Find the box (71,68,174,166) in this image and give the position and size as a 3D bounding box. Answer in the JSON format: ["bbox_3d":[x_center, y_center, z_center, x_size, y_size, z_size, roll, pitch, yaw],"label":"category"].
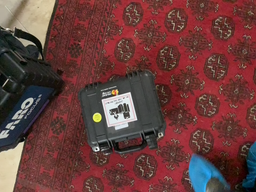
[{"bbox_3d":[-0.020,0.090,0.930,0.360,0.140,0.320,-15,85,8],"label":"box"}]
